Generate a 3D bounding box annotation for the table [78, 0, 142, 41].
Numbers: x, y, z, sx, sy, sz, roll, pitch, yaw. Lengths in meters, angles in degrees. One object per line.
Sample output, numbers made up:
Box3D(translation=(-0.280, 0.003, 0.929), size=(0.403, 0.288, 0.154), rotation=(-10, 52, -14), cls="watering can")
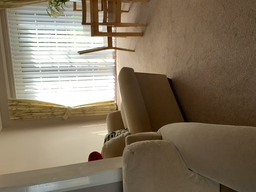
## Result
Box3D(translation=(-0.320, -1.340, 3.180), size=(0.940, 0.760, 0.980), rotation=(-141, 49, -67), cls="table")
